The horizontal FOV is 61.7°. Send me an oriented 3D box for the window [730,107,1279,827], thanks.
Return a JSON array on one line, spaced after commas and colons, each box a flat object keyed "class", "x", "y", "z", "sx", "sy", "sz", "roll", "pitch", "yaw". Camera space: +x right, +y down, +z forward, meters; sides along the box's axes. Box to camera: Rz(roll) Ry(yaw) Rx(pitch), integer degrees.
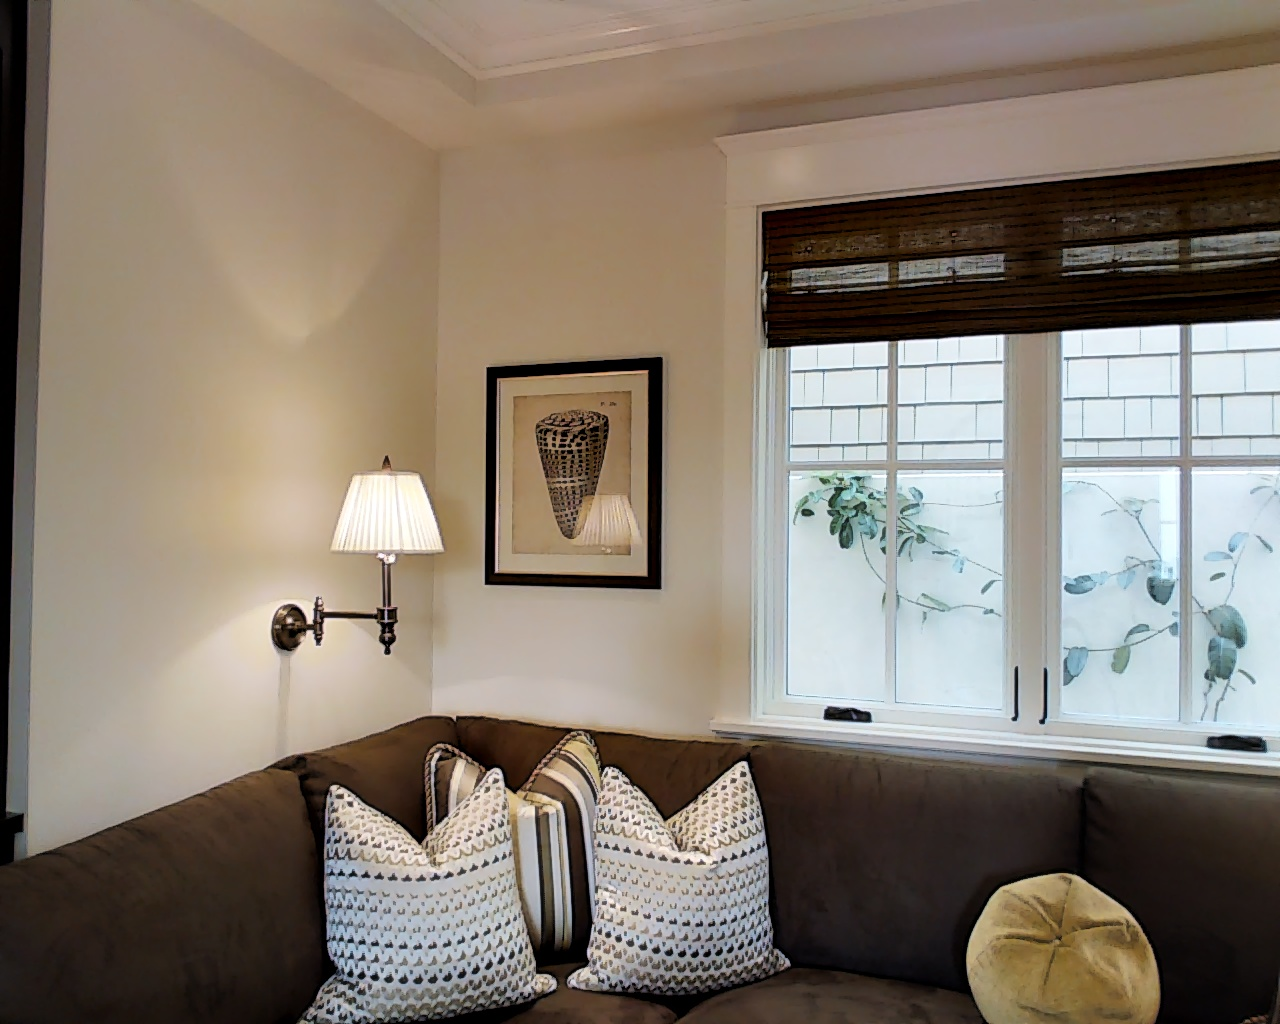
[{"class": "window", "x": 1.120, "y": -0.110, "z": 2.910, "sx": 1.699, "sy": 1.721, "sz": 0.350, "roll": 0, "pitch": -1, "yaw": 22}]
